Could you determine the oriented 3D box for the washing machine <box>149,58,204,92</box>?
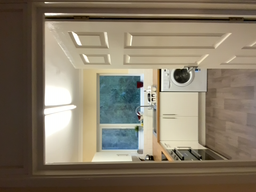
[{"bbox_3d":[0.930,-0.390,4.220,0.650,0.920,0.600,164,106,-88],"label":"washing machine"}]
